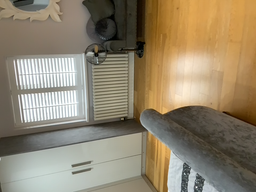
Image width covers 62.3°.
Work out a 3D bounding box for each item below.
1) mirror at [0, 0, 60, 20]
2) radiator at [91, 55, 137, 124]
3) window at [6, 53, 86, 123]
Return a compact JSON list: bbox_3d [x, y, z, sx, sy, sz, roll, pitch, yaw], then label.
[{"bbox_3d":[-1.410,-1.390,3.000,0.120,0.800,0.540,-151,58,-64],"label":"mirror"},{"bbox_3d":[-0.240,-0.130,3.800,0.110,0.800,1.180,-147,55,-63],"label":"radiator"},{"bbox_3d":[-1.320,-0.160,3.570,0.100,1.150,1.100,-147,55,-63],"label":"window"}]
